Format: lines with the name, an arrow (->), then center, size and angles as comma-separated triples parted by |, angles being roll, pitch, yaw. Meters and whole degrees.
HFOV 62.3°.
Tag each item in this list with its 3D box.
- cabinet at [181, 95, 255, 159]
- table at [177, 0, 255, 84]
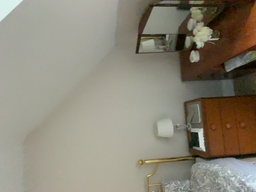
cabinet -> 0.970, 0.310, 2.230 | 0.470, 0.620, 0.560 | 130, 137, -81
table -> 0.990, -0.500, 1.730 | 1.650, 0.620, 0.500 | 133, 133, -81
